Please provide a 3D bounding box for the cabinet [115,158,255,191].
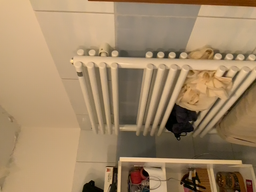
[{"bbox_3d":[0.300,0.670,1.060,0.230,0.740,0.630,94,178,-57],"label":"cabinet"}]
